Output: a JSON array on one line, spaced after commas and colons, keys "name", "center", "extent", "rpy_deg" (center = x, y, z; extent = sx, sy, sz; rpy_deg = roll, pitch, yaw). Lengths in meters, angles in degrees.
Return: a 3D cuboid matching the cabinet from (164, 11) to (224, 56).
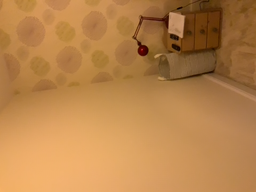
[{"name": "cabinet", "center": [0.720, -0.720, 2.400], "extent": [0.420, 0.480, 0.410], "rpy_deg": [-125, 28, -66]}]
